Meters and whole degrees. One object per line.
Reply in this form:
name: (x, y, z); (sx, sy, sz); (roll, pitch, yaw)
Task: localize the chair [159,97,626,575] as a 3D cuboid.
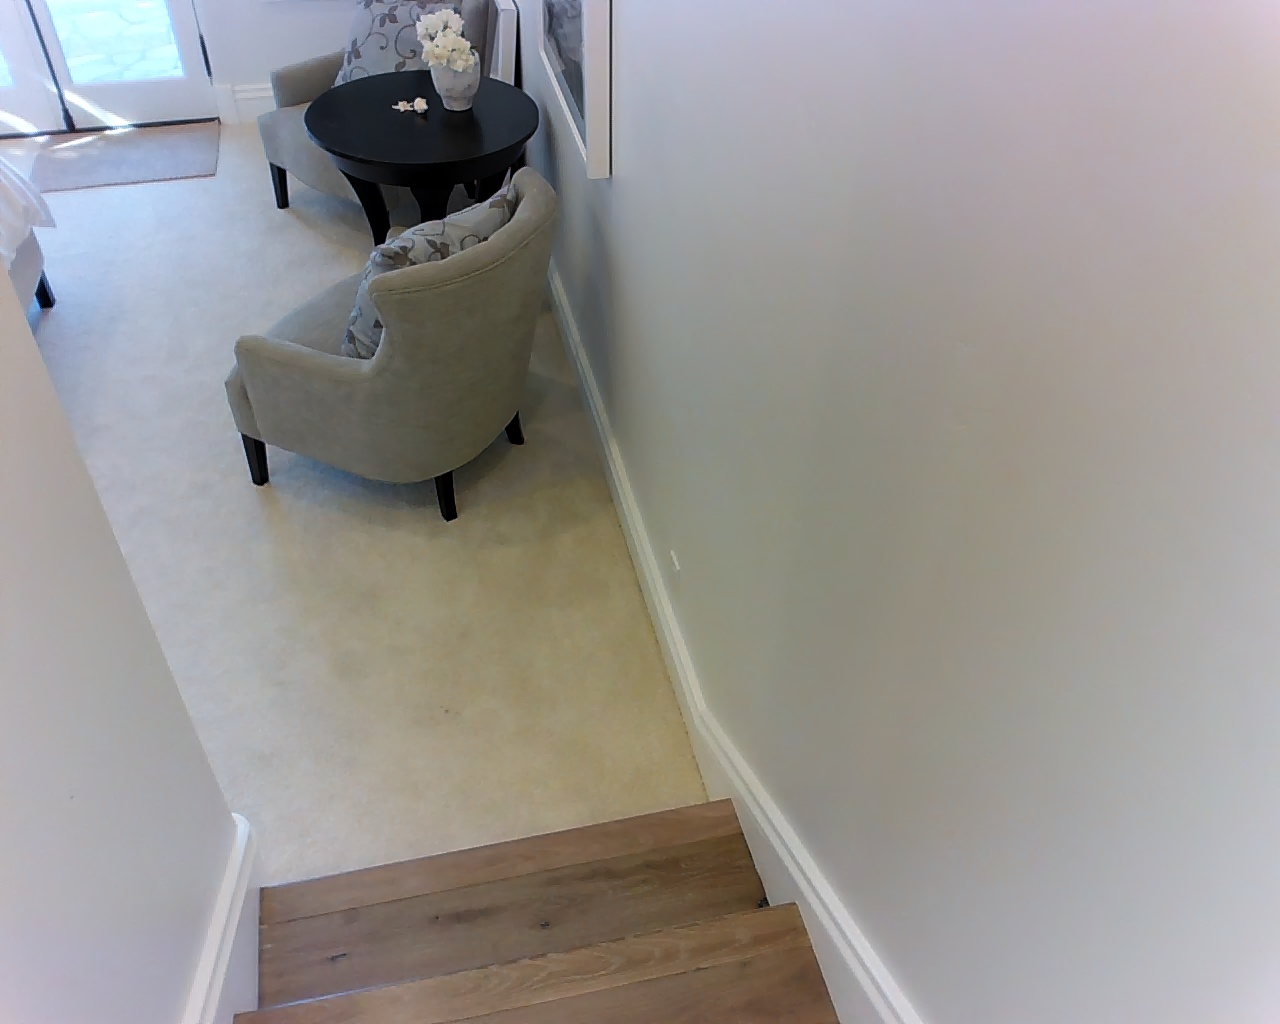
chair: (-0.650, -0.550, 3.200); (0.910, 0.900, 0.840); (21, 46, 20)

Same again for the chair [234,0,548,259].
chair: (-1.000, -1.770, 4.510); (0.810, 0.920, 0.880); (31, 50, 28)

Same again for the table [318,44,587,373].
table: (-0.670, -1.110, 3.890); (0.810, 0.810, 0.810); (-8, 43, -10)
